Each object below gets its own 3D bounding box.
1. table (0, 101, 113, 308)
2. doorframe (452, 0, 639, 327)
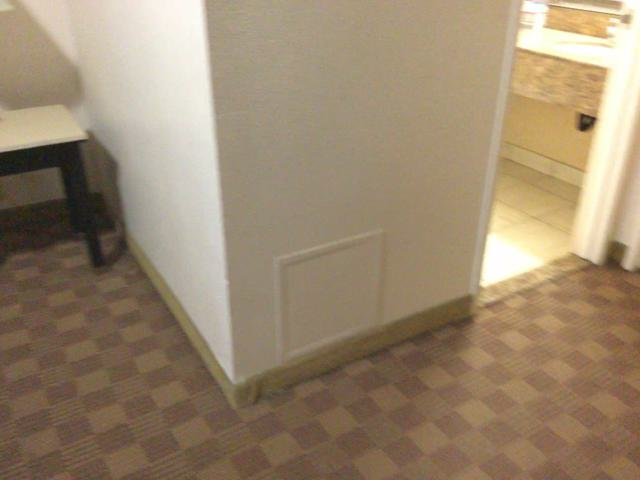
[{"bbox_3d":[-1.250,-0.150,2.300,0.640,0.640,0.510,-13,31,-28],"label":"table"},{"bbox_3d":[0.870,-0.670,1.940,0.850,1.950,0.130,-20,34,-27],"label":"doorframe"}]
